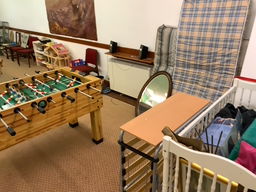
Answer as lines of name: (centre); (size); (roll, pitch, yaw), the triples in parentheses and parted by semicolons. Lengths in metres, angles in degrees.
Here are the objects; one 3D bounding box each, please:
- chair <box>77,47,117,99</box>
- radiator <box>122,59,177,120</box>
chair: (-0.570, -0.450, 4.010); (0.520, 0.800, 0.440); (-22, 32, -37)
radiator: (0.280, -0.140, 3.300); (0.120, 0.650, 1.080); (-19, 31, -33)
